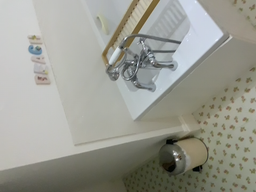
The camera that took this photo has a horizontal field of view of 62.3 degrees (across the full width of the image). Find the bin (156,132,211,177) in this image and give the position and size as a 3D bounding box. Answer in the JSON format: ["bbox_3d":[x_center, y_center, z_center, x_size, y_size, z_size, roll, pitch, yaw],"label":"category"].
[{"bbox_3d":[0.380,0.390,1.450,0.140,0.300,0.200,-48,57,40],"label":"bin"}]
